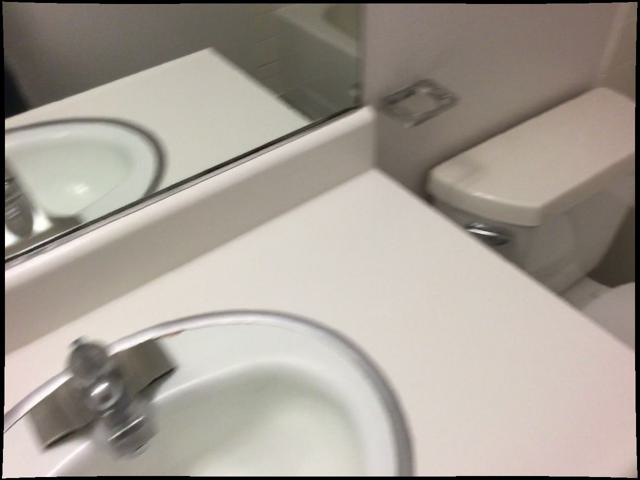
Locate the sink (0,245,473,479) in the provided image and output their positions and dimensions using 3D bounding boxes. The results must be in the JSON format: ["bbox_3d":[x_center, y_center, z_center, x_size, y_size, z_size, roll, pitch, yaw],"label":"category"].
[{"bbox_3d":[-0.160,0.301,0.580,0.509,0.260,0.320,-29,49,-22],"label":"sink"}]
